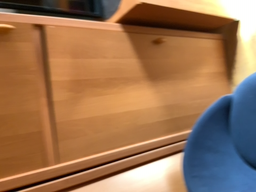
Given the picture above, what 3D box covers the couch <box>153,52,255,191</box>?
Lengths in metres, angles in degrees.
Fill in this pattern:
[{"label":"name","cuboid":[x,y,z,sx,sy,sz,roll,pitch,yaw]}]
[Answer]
[{"label":"couch","cuboid":[0.590,0.140,0.950,0.480,0.690,0.490,49,133,41]}]
